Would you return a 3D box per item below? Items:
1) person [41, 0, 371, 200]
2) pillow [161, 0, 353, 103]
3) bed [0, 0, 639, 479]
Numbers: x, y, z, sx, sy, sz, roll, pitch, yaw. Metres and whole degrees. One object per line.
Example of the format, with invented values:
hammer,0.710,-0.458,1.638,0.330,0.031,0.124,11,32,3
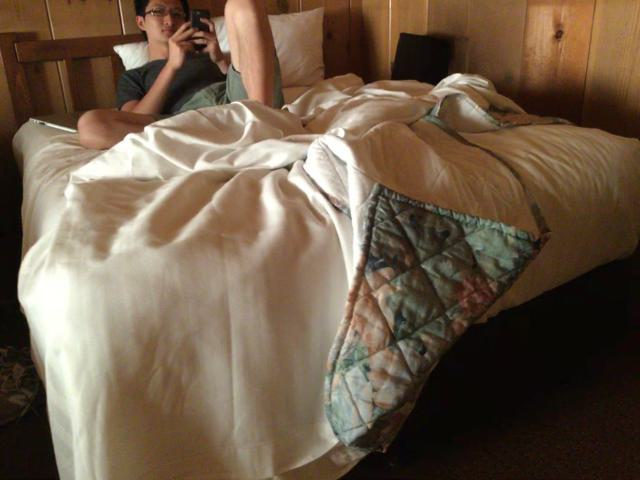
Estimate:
person,-0.460,-0.600,1.960,0.750,0.560,1.170,-11,22,-25
pillow,-0.260,-0.840,2.480,0.720,0.410,0.350,-11,22,-25
bed,-0.200,-0.150,1.800,1.480,1.010,2.000,-11,22,-25
